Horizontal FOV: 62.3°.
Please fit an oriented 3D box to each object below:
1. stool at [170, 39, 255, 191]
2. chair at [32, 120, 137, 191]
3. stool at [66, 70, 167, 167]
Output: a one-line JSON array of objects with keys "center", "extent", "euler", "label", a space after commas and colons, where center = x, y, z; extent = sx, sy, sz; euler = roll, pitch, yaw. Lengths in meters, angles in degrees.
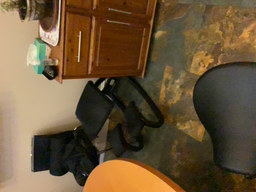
[{"center": [0.600, 0.050, 0.970], "extent": [0.470, 0.580, 0.530], "euler": [23, 113, 46], "label": "stool"}, {"center": [-0.420, 0.600, 2.060], "extent": [0.490, 0.830, 0.430], "euler": [30, 118, 44], "label": "chair"}, {"center": [-0.130, 0.150, 1.880], "extent": [0.650, 0.530, 0.440], "euler": [52, 132, 31], "label": "stool"}]
